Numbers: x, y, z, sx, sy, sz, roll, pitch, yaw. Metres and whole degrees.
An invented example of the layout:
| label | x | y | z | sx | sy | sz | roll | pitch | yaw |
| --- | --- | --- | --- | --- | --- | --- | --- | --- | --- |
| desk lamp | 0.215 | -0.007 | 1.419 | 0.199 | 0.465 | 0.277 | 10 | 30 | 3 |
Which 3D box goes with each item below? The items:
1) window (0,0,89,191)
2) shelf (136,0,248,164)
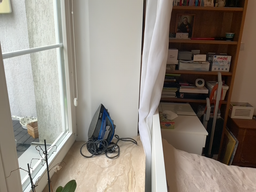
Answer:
| label | x | y | z | sx | sy | sz | roll | pitch | yaw |
| --- | --- | --- | --- | --- | --- | --- | --- | --- | --- |
| window | -0.400 | -0.430 | 0.460 | 0.200 | 1.970 | 1.630 | 3 | 18 | 3 |
| shelf | 0.630 | -0.240 | 2.440 | 0.970 | 2.060 | 0.350 | 3 | 18 | 3 |
